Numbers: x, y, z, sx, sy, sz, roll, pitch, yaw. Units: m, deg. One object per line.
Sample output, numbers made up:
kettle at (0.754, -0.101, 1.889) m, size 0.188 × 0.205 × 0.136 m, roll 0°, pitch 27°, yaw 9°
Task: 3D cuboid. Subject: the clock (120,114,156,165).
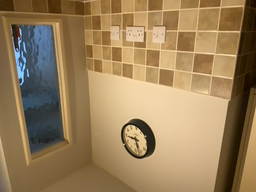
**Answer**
clock at (0.060, 0.290, 1.460) m, size 0.100 × 0.260 × 0.240 m, roll -16°, pitch -155°, yaw -42°
